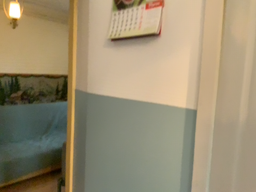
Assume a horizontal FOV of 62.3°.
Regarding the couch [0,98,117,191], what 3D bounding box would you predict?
[{"bbox_3d":[-1.250,0.590,3.360,1.010,0.880,2.000,9,8,41],"label":"couch"}]
